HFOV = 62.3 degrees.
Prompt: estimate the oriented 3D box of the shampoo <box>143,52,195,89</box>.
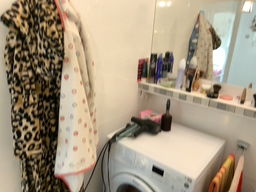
[{"bbox_3d":[0.310,-0.210,1.640,0.320,0.210,0.200,19,23,38],"label":"shampoo"}]
